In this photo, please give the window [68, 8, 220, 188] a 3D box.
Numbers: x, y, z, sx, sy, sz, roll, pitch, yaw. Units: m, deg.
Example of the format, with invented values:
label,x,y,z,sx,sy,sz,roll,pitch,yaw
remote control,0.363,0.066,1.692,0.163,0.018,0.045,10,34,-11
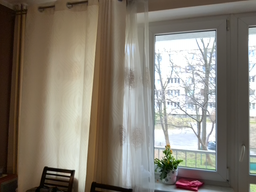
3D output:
label,x,y,z,sx,sy,sz,roll,pitch,yaw
window,0.120,0.000,2.110,1.430,1.510,0.240,1,-3,18
